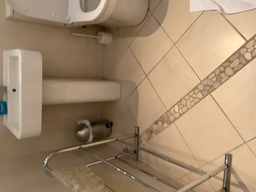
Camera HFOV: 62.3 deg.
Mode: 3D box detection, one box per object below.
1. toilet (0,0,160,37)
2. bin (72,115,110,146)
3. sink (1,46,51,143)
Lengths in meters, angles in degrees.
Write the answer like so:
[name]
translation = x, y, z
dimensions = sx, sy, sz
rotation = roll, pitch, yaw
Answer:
[toilet]
translation = -0.320, -0.690, 1.430
dimensions = 0.650, 0.890, 0.390
rotation = 11, 100, 47
[bin]
translation = -0.330, 0.300, 1.900
dimensions = 0.170, 0.280, 0.210
rotation = 8, 97, 47
[sink]
translation = -0.680, -0.030, 1.380
dimensions = 0.430, 0.170, 0.540
rotation = 11, 100, 47
